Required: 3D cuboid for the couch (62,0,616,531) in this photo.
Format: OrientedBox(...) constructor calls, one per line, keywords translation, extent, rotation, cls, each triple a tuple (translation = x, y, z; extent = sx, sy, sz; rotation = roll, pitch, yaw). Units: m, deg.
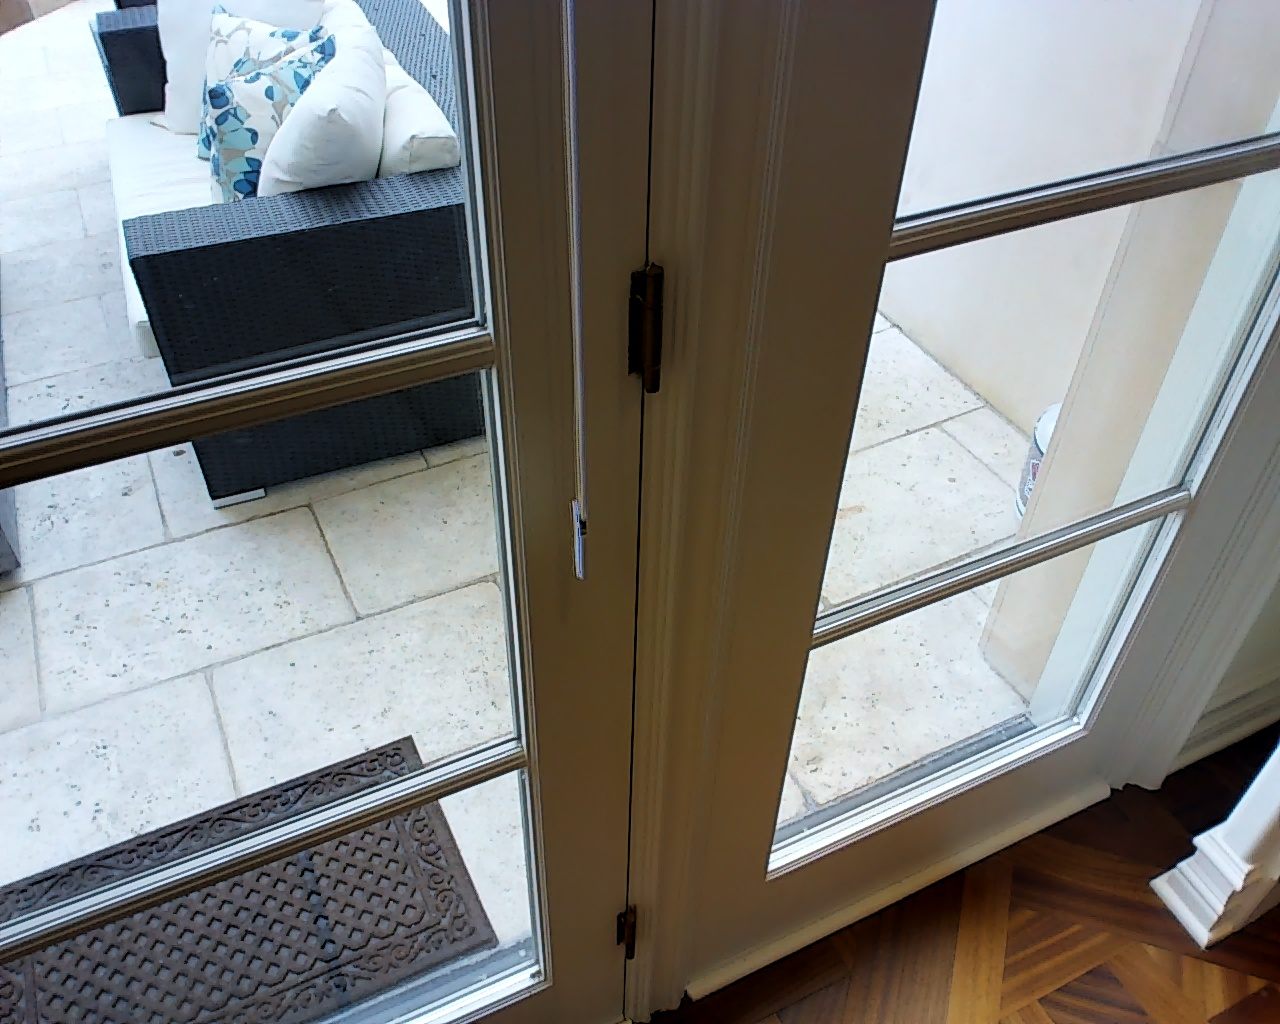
OrientedBox(translation=(-0.900, -0.910, 3.010), extent=(1.090, 0.710, 1.790), rotation=(-15, 44, -17), cls="couch")
